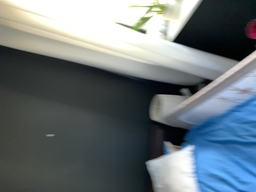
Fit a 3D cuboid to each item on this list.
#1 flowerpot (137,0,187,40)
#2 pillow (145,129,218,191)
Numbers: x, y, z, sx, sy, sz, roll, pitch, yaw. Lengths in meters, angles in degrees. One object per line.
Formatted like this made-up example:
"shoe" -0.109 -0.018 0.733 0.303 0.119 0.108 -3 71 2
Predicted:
"flowerpot" 0.270 -0.660 1.750 0.230 0.330 0.200 118 161 -51
"pillow" 0.350 0.750 1.540 0.550 0.290 0.870 127 153 -64
